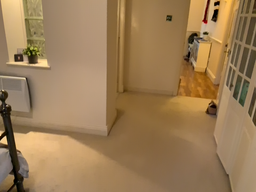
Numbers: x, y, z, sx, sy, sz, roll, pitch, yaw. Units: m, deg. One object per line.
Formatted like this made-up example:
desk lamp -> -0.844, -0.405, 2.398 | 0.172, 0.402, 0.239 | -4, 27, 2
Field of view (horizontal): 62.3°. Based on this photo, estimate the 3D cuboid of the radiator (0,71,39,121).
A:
radiator -> -1.660, -0.030, 2.690 | 0.990, 0.570, 0.150 | 6, 22, 7
